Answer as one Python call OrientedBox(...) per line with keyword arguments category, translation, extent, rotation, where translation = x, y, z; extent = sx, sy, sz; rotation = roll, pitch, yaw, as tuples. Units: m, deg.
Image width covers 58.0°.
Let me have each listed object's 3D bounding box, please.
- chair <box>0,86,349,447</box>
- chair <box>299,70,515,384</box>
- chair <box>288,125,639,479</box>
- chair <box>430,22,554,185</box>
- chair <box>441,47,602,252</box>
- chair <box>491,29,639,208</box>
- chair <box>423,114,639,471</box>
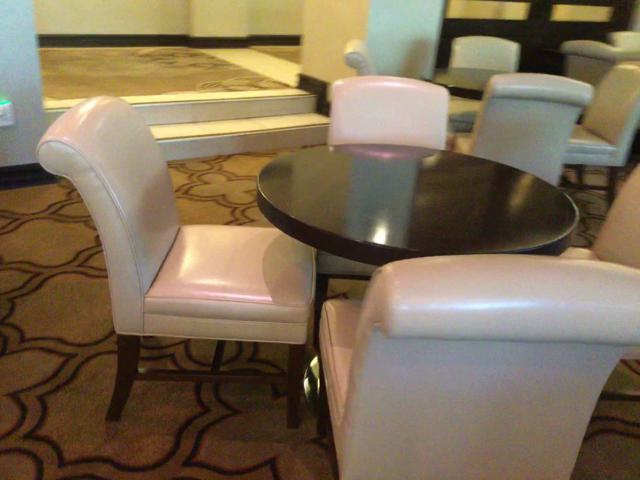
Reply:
OrientedBox(category="chair", translation=(-0.350, 0.060, 1.790), extent=(0.820, 0.930, 0.610), rotation=(1, 26, 0))
OrientedBox(category="chair", translation=(0.230, -0.100, 2.230), extent=(0.610, 0.940, 0.840), rotation=(0, 26, -3))
OrientedBox(category="chair", translation=(0.270, 0.300, 1.370), extent=(0.600, 0.920, 0.870), rotation=(-3, 26, -8))
OrientedBox(category="chair", translation=(1.190, -1.030, 4.210), extent=(0.660, 0.950, 0.920), rotation=(5, 26, 9))
OrientedBox(category="chair", translation=(1.020, -0.530, 3.160), extent=(0.560, 0.880, 0.830), rotation=(4, 26, 6))
OrientedBox(category="chair", translation=(1.630, -0.780, 3.630), extent=(0.840, 0.940, 0.680), rotation=(3, 26, 4))
OrientedBox(category="chair", translation=(0.820, 0.130, 1.800), extent=(0.770, 0.910, 0.530), rotation=(-4, 26, -10))
